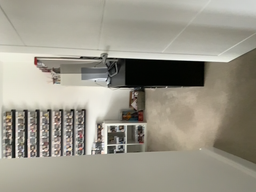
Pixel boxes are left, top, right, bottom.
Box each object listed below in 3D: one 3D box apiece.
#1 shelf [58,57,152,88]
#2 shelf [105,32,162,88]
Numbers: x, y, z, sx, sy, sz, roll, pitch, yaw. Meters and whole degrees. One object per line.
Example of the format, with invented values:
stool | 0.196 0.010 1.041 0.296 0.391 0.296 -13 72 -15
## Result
shelf | -0.410 -0.370 3.710 0.790 1.470 0.430 -177 88 -78
shelf | -0.020 -0.350 2.640 1.460 0.370 0.450 -177 88 -78
